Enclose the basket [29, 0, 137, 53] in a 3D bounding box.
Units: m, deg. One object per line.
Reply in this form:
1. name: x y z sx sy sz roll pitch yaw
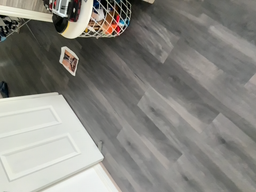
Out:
1. basket: -0.310 -0.580 1.480 0.410 0.510 0.360 48 124 25
